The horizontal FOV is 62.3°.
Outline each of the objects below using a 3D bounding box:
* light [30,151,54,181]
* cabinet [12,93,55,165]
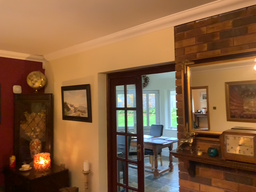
[{"bbox_3d":[-1.210,0.970,2.980,0.220,0.330,0.240,-2,-2,39],"label":"light"},{"bbox_3d":[-1.590,0.530,3.620,0.610,1.150,0.300,0,-2,-11],"label":"cabinet"}]
